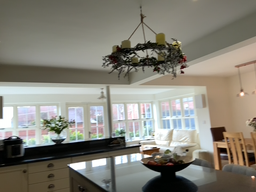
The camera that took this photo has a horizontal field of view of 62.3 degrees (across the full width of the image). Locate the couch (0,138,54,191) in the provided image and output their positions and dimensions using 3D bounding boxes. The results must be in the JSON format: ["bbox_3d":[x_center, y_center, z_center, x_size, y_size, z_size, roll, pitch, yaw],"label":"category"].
[{"bbox_3d":[-2.300,1.540,4.790,0.920,0.950,2.050,-1,-7,-26],"label":"couch"}]

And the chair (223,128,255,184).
[{"bbox_3d":[2.300,1.150,4.230,0.490,0.960,0.430,-1,-7,-26],"label":"chair"}]

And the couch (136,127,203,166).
[{"bbox_3d":[1.200,1.500,6.740,0.880,0.920,2.100,-1,-7,-27],"label":"couch"}]
